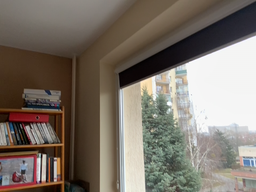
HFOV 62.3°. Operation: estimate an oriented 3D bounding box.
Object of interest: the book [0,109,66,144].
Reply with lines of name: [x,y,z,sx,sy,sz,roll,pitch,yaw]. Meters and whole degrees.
book: [-0.980,0.290,1.940,0.680,0.280,0.420,6,-13,-34]
